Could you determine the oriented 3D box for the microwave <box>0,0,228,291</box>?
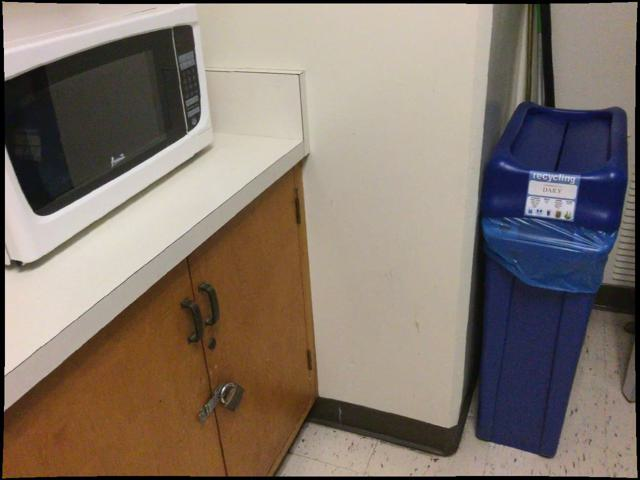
[{"bbox_3d":[-0.569,-0.241,1.100,0.499,0.311,0.610,8,32,21],"label":"microwave"}]
